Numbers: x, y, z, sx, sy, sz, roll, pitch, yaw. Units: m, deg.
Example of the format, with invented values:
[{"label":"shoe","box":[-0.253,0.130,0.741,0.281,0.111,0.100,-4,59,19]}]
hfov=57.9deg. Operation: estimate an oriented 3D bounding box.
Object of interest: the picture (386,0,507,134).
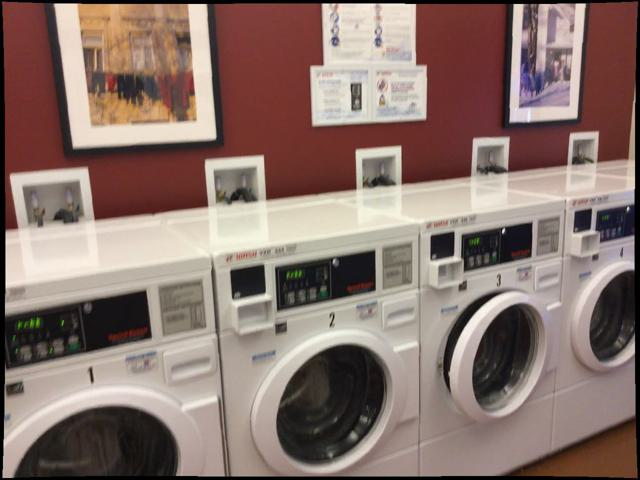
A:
[{"label":"picture","box":[0.609,-0.901,2.730,0.659,0.741,0.070,-10,15,-26]}]

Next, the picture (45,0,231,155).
[{"label":"picture","box":[-0.649,-0.711,2.100,0.590,0.741,0.090,-10,15,-26]}]
